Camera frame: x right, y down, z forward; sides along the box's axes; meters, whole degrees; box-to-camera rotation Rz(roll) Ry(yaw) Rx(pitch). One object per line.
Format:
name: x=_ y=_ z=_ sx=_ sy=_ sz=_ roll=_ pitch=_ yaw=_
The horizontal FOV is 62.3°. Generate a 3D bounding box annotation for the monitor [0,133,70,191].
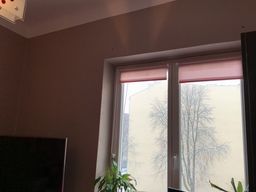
monitor: x=-1.120 y=0.720 z=2.120 sx=1.110 sy=0.670 sz=0.050 roll=0 pitch=-10 yaw=15
